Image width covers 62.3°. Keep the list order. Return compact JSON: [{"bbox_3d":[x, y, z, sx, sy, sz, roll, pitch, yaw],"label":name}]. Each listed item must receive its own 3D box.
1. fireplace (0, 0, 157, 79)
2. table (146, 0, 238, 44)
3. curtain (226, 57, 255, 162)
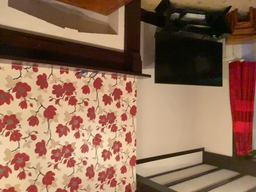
[{"bbox_3d":[-0.620,-0.850,2.120,1.850,1.170,0.740,2,178,-39],"label":"fireplace"},{"bbox_3d":[0.980,-1.170,3.350,1.280,0.430,0.570,1,178,-14],"label":"table"},{"bbox_3d":[2.160,0.230,3.910,0.410,1.720,0.730,-1,178,45],"label":"curtain"}]
